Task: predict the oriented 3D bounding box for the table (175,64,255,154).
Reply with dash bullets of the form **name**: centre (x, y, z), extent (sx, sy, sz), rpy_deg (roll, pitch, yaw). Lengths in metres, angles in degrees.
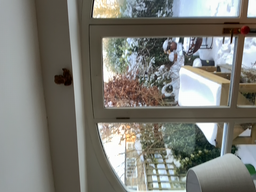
- **table**: centre (1.370, 0.020, 3.350), extent (2.000, 0.750, 0.880), rpy_deg (-94, 2, -77)
